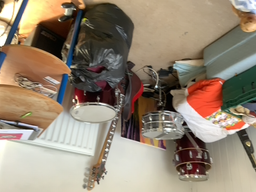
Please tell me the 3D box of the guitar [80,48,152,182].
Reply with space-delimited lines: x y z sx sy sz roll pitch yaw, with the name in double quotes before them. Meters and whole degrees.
"guitar" -0.090 0.190 1.980 0.340 1.100 0.530 19 150 -26
